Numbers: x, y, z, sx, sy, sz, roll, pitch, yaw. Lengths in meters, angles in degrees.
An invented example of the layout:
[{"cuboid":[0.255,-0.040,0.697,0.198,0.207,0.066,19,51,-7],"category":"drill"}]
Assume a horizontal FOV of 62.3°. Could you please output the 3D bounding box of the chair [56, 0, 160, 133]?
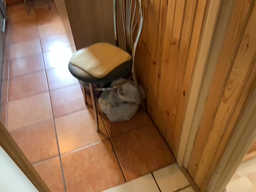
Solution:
[{"cuboid":[-0.120,-0.240,1.380,0.460,0.860,0.410,-15,45,-13],"category":"chair"}]
